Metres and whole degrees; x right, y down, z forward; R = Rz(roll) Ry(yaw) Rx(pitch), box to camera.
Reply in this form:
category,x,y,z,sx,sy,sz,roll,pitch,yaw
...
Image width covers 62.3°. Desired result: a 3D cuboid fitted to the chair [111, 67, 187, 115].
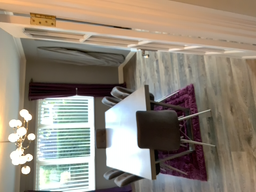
category,x,y,z,sx,sy,sz,roll,pitch,yaw
chair,0.270,-0.040,2.930,0.420,0.910,0.540,145,124,-66
